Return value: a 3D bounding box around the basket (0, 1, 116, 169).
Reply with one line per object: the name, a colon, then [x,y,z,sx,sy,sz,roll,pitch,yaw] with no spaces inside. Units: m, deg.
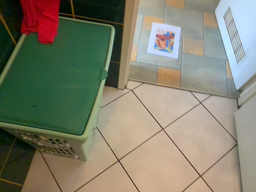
basket: [-0.280,0.010,0.930,0.340,0.570,0.450,12,62,0]
